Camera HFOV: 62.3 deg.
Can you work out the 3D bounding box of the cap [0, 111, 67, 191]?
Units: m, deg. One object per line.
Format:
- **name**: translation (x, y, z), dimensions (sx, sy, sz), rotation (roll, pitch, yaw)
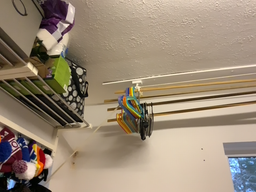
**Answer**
- **cap**: translation (-0.630, 0.370, 1.270), dimensions (0.130, 0.300, 0.790), rotation (-5, -30, 12)
